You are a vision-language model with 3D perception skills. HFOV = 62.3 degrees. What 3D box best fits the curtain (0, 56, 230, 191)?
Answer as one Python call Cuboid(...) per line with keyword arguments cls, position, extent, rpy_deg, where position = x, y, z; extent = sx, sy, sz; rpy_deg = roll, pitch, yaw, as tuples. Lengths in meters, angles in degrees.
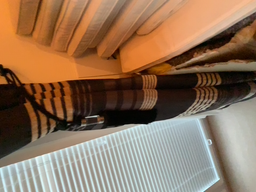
Cuboid(cls="curtain", position=(-0.410, 0.170, 0.520), extent=(0.180, 2.130, 0.450), rpy_deg=(-23, 80, 51))
